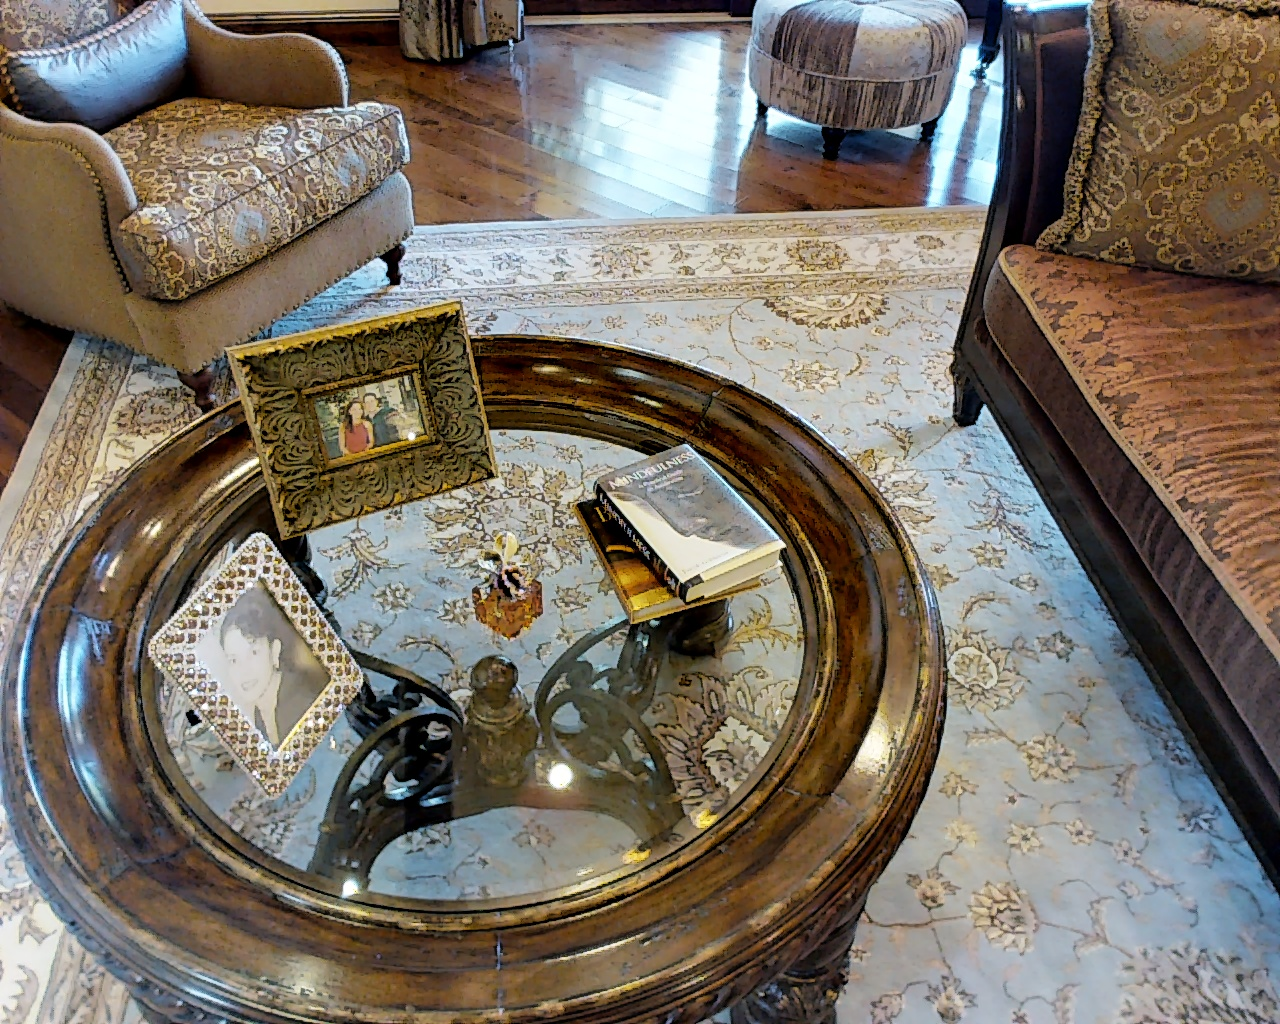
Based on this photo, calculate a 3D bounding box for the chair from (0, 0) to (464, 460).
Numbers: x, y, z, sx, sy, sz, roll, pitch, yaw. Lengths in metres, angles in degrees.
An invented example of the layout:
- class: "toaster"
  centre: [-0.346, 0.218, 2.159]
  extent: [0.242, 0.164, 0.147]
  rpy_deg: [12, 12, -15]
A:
- class: "chair"
  centre: [-1.200, -1.030, 2.580]
  extent: [1.090, 1.230, 0.930]
  rpy_deg: [21, 45, 20]
